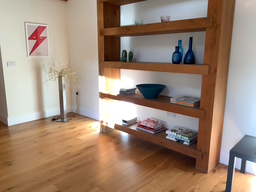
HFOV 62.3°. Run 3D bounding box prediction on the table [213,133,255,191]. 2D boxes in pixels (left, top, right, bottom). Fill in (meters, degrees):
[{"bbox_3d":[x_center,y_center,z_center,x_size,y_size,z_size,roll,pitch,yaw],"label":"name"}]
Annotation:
[{"bbox_3d":[1.300,0.750,2.150,0.620,0.460,0.540,11,15,42],"label":"table"}]
